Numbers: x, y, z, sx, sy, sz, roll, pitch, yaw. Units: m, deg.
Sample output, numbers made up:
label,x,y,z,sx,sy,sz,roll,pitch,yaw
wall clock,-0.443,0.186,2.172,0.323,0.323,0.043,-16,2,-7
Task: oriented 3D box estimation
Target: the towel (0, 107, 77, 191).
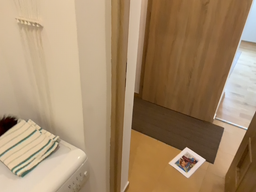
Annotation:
label,x,y,z,sx,sy,sz,roll,pitch,yaw
towel,-0.450,0.190,0.880,0.420,0.040,0.230,21,37,25
